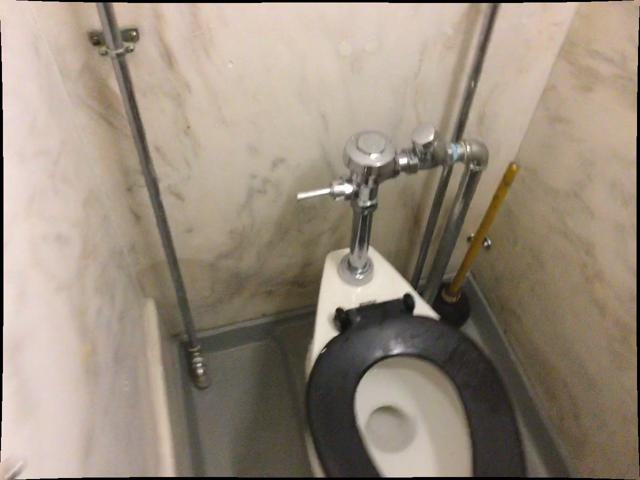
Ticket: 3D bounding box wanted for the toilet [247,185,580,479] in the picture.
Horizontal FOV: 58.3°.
[{"bbox_3d":[0.120,0.330,1.210,0.390,0.460,0.730,-10,52,-13],"label":"toilet"}]
